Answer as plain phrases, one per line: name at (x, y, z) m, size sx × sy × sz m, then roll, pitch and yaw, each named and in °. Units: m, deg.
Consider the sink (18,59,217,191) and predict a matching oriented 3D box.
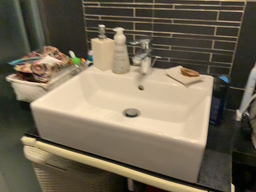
sink at (0.010, 0.040, 0.740) m, size 0.530 × 0.160 × 0.430 m, roll 10°, pitch 30°, yaw 18°
